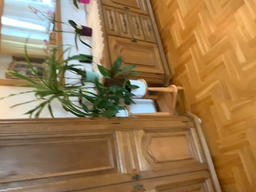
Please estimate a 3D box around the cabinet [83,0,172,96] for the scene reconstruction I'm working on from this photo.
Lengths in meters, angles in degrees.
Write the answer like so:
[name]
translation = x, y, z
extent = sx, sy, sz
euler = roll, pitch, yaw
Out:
[cabinet]
translation = -0.070, -0.780, 2.700
extent = 0.440, 0.800, 1.470
euler = -45, 49, 53
